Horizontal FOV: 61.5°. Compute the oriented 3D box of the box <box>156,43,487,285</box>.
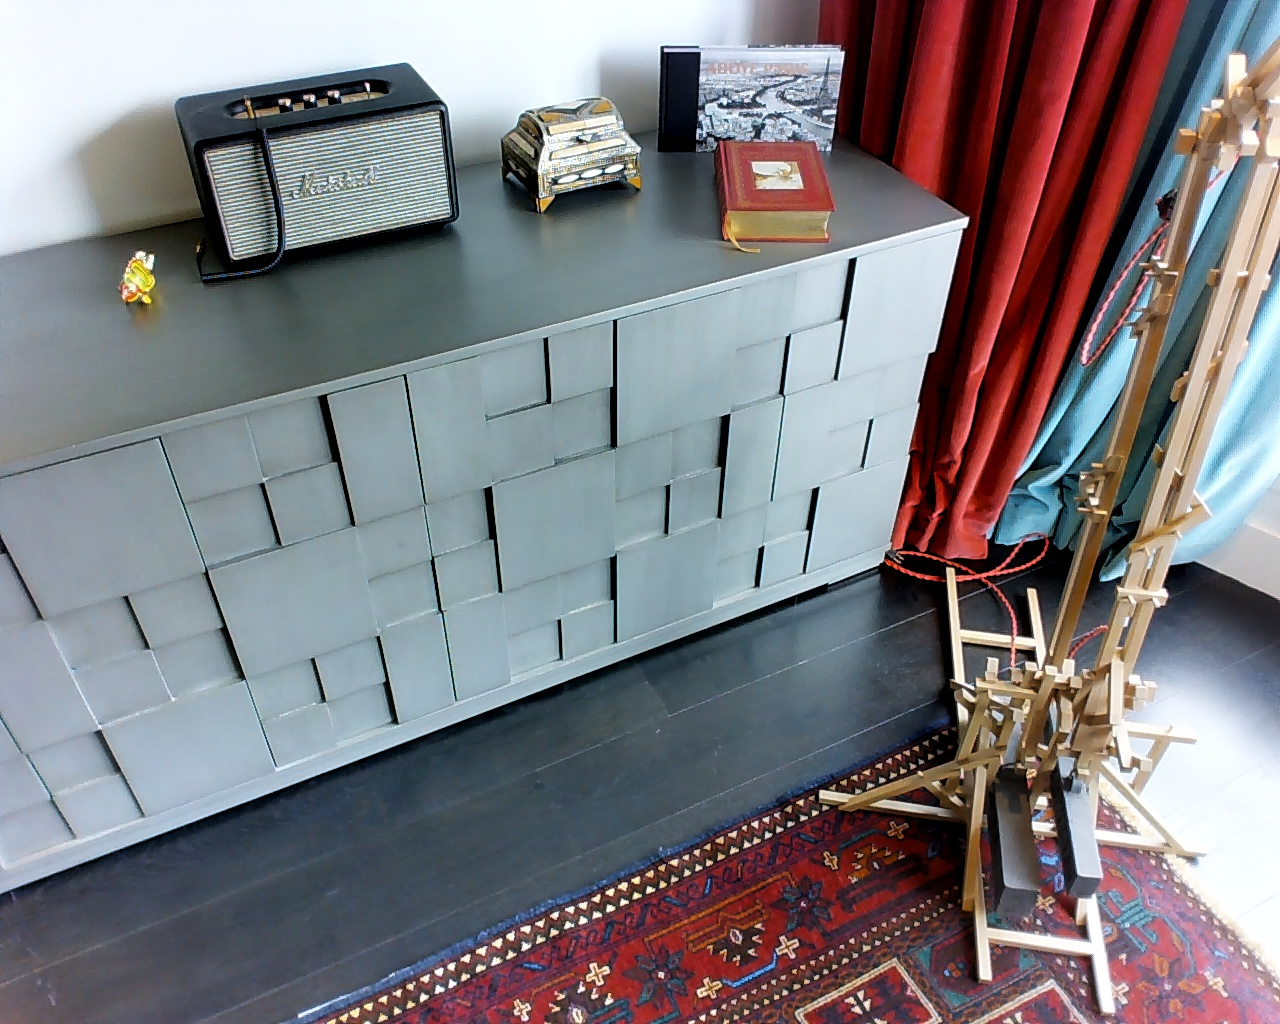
[{"bbox_3d":[-0.460,-0.520,1.580,0.390,0.200,0.240,-18,45,-19],"label":"box"}]

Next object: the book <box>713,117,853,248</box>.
[{"bbox_3d":[0.220,-0.530,1.710,0.200,0.060,0.330,3,42,2],"label":"book"}]
